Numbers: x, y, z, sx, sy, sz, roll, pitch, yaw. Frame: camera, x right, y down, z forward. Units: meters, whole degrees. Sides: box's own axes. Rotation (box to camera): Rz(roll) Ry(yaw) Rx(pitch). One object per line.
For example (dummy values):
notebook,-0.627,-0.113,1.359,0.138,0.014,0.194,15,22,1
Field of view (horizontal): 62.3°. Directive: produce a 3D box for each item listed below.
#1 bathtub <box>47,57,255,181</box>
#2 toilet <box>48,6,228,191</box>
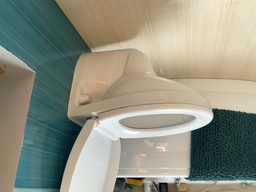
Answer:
bathtub,0.520,0.320,1.640,1.720,0.600,1.170,-6,156,14
toilet,0.050,0.140,0.830,0.510,0.790,0.370,-6,156,14
